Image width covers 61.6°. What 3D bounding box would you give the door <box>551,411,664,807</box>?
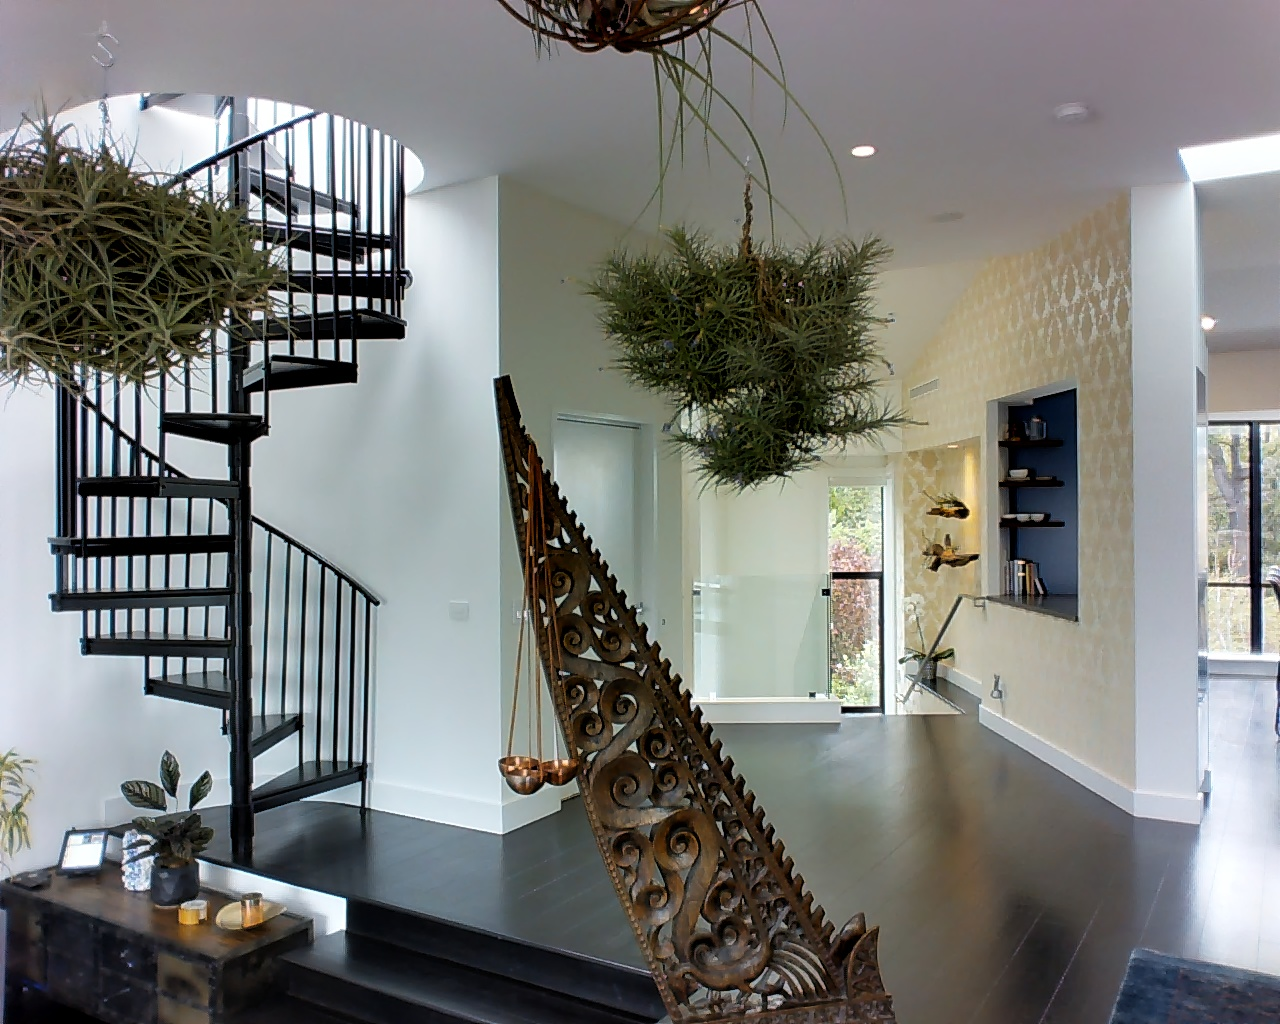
[{"bbox_3d":[-0.160,0.500,5.960,0.100,2.040,0.960,0,0,33],"label":"door"}]

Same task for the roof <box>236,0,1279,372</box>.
[{"bbox_3d":[1.270,-1.830,6.400,5.470,1.120,4.470,0,0,32],"label":"roof"}]
